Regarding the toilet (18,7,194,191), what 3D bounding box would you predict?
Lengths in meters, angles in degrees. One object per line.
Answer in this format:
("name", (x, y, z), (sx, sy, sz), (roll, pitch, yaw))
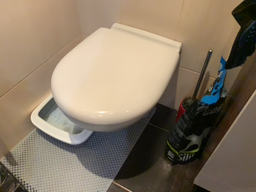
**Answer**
("toilet", (-0.040, 0.000, 0.860), (0.370, 0.440, 0.500), (22, 51, 16))
